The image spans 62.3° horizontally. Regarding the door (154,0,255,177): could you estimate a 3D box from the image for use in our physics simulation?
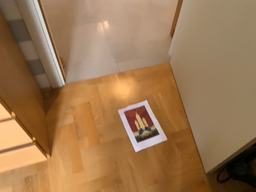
[{"bbox_3d":[0.400,-0.490,0.610,0.140,2.140,0.860,-6,56,-7],"label":"door"}]
